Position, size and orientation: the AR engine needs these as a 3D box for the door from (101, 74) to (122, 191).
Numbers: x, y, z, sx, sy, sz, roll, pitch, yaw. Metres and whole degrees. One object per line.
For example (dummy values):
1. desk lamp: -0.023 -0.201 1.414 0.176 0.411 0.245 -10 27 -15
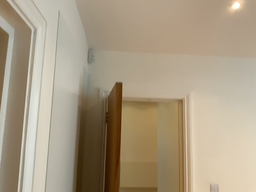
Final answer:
1. door: -0.160 0.960 1.610 0.070 2.110 0.800 3 -8 -8
